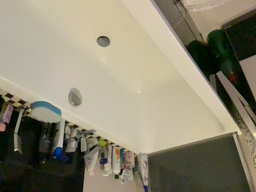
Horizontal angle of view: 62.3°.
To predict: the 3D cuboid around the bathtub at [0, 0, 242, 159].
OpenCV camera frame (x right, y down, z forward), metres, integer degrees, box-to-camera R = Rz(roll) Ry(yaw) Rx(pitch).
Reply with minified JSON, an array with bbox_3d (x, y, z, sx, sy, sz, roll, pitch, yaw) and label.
[{"bbox_3d":[-0.100,-0.240,1.160,0.840,0.590,1.660,-23,140,28],"label":"bathtub"}]
